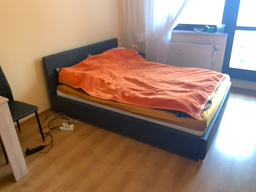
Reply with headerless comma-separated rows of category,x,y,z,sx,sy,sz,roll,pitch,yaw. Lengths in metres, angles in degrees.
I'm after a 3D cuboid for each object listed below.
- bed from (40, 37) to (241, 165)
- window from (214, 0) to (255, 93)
bed,0.220,-0.240,3.060,2.140,0.770,1.750,15,29,31
window,2.030,-1.160,3.200,1.030,2.310,0.150,13,28,27
